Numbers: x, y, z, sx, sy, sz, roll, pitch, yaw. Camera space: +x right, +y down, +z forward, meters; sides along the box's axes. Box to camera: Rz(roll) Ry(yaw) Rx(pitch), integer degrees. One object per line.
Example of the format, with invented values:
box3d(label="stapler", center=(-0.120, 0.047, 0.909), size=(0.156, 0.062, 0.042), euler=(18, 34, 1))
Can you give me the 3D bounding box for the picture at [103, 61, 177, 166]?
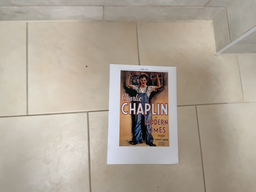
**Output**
box3d(label="picture", center=(0.040, 0.050, 0.630), size=(0.210, 0.020, 0.300), euler=(3, 82, -7))
